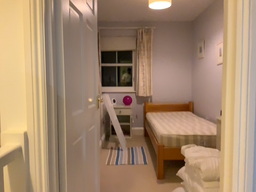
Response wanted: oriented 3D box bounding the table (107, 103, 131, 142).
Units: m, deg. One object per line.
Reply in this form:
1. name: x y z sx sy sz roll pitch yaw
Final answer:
1. table: -0.170 0.500 4.140 0.450 0.670 0.460 0 4 -1

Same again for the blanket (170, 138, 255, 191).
1. blanket: 0.690 0.720 1.740 0.520 0.550 0.750 0 4 -1
